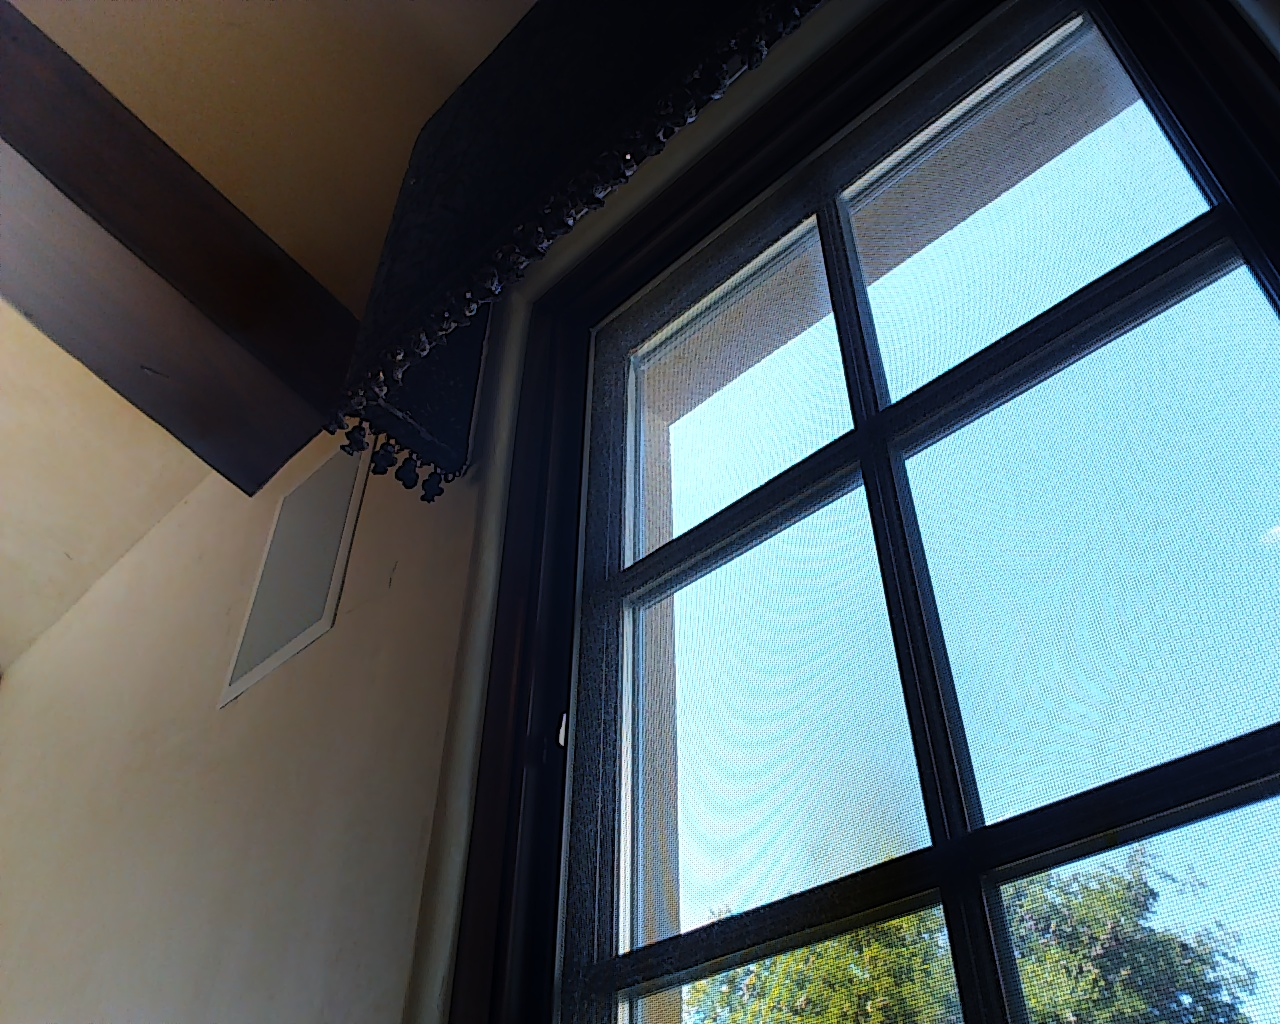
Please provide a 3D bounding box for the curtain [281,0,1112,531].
[{"bbox_3d":[0.040,-0.410,0.880,0.150,0.550,0.790,33,-51,-31],"label":"curtain"}]
